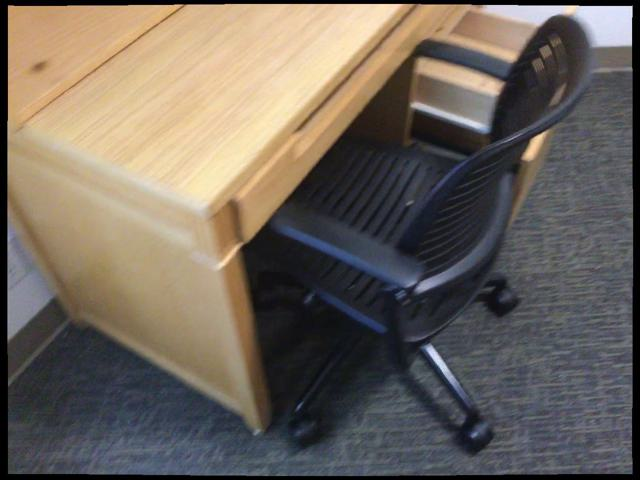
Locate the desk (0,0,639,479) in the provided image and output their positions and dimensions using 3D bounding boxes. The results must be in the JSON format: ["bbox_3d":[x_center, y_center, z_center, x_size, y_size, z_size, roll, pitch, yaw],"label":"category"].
[{"bbox_3d":[-0.240,-0.341,1.430,1.357,1.271,1.391,3,-40,5],"label":"desk"}]
